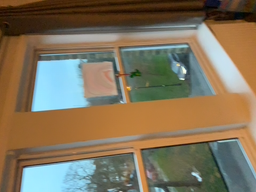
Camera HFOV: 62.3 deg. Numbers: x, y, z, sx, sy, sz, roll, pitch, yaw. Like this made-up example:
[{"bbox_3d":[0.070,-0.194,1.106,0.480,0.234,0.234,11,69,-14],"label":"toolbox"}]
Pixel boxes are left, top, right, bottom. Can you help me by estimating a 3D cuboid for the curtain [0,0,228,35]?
[{"bbox_3d":[-0.150,-0.790,1.830,0.210,1.900,0.450,98,165,-55],"label":"curtain"}]
